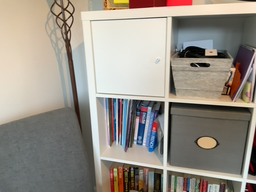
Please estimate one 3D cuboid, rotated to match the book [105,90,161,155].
[{"bbox_3d":[0.040,0.140,1.260,0.260,0.280,0.250,5,19,16],"label":"book"}]
